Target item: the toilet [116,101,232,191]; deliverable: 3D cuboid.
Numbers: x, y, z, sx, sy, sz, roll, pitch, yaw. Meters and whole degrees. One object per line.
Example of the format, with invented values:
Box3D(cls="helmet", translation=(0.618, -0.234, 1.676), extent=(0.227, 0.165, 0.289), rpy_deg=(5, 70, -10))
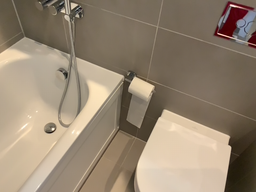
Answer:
Box3D(cls="toilet", translation=(0.220, 0.430, 1.130), extent=(0.380, 0.470, 0.540), rpy_deg=(22, 51, 14))
